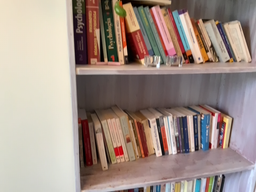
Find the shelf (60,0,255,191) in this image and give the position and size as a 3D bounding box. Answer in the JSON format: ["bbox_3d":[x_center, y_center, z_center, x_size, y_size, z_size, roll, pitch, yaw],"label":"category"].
[{"bbox_3d":[0.160,0.370,1.070,0.860,1.780,0.340,-2,16,-14],"label":"shelf"}]

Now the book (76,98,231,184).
[{"bbox_3d":[0.120,0.200,1.100,0.740,0.290,0.230,-3,17,-16],"label":"book"}]
